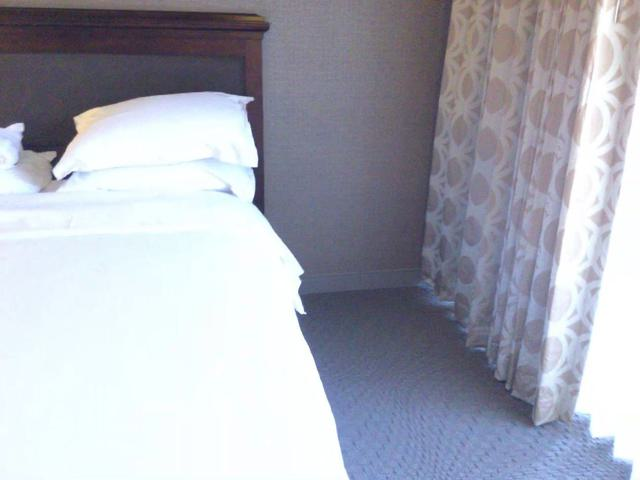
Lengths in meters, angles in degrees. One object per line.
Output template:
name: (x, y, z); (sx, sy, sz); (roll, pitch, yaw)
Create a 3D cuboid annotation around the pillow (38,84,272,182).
pillow: (-0.630, -0.450, 2.300); (0.790, 0.280, 0.510); (-4, 21, -15)

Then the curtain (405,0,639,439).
curtain: (0.810, -0.520, 2.230); (0.360, 2.130, 1.190); (-4, 21, -15)

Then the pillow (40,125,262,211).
pillow: (-0.660, -0.310, 2.340); (0.780, 0.230, 0.410); (-4, 21, -15)
